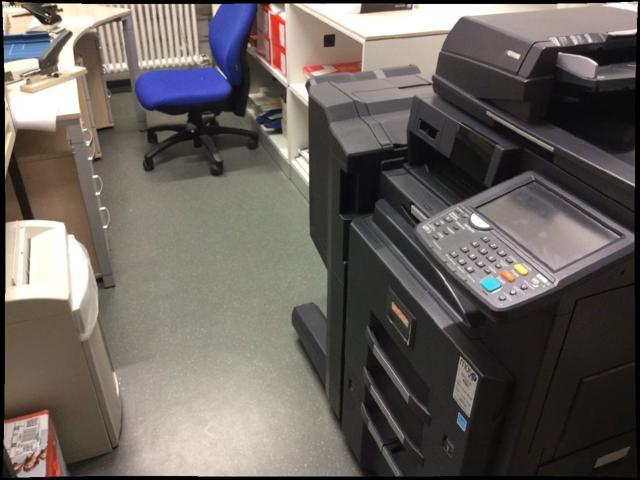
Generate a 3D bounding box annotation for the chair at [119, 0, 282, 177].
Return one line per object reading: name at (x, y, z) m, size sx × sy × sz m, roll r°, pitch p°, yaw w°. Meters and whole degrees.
chair at (-0.609, -0.901, 3.000) m, size 0.669 × 0.911 × 0.520 m, roll -13°, pitch 37°, yaw -21°
